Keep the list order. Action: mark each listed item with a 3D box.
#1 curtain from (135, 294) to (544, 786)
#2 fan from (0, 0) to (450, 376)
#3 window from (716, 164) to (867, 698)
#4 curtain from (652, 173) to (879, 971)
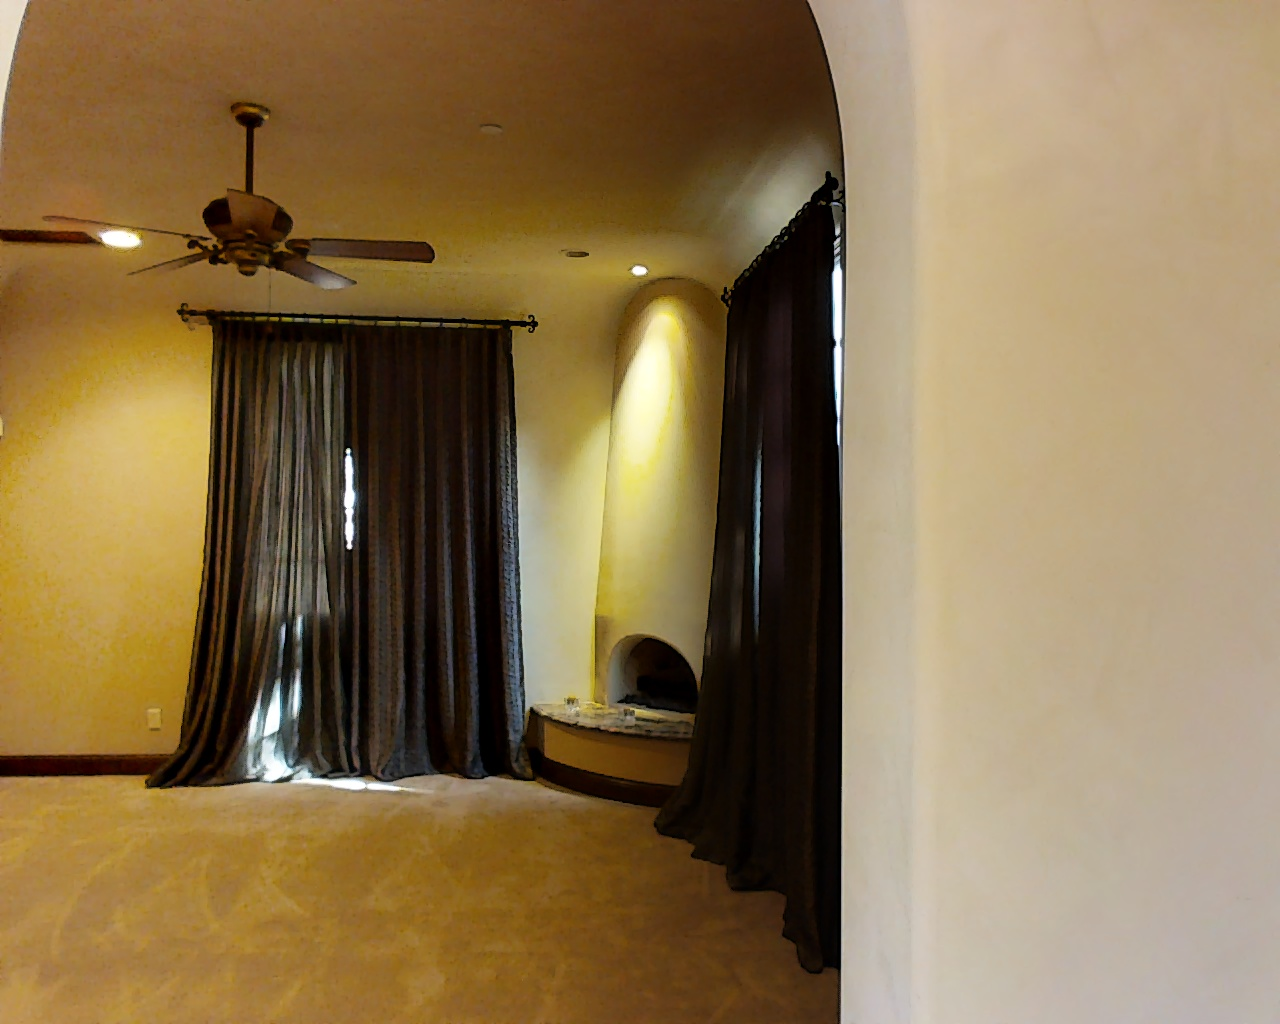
[{"bbox_3d":[-1.740,0.170,6.420,2.290,2.800,0.400,1,0,-6],"label":"curtain"},{"bbox_3d":[-1.400,-1.080,3.770,1.350,0.560,1.350,1,-23,-6],"label":"fan"},{"bbox_3d":[0.600,-0.280,4.680,0.230,1.880,1.810,1,0,-5],"label":"window"},{"bbox_3d":[0.450,0.210,4.670,0.540,2.740,1.930,1,0,-6],"label":"curtain"}]
